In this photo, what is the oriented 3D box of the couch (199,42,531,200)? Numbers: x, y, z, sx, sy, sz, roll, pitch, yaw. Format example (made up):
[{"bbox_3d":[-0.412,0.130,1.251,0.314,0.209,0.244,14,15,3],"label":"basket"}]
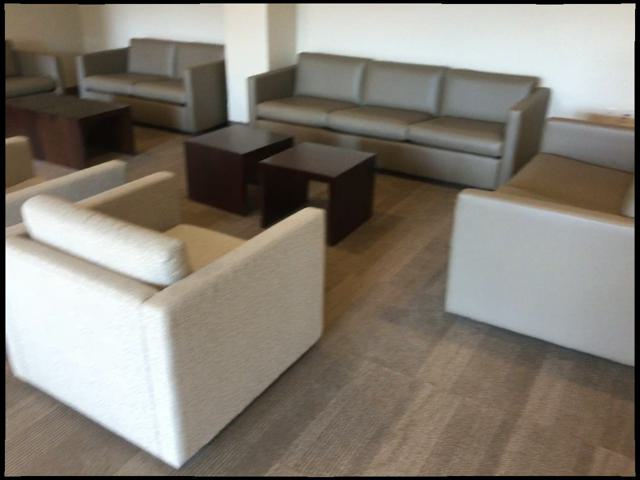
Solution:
[{"bbox_3d":[0.309,-1.042,4.610,2.386,0.741,0.930,14,28,23],"label":"couch"}]

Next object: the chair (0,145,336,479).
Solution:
[{"bbox_3d":[-0.589,0.190,2.100,0.998,0.731,0.860,14,28,23],"label":"chair"}]

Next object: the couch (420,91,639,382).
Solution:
[{"bbox_3d":[1.237,-0.180,2.880,0.949,0.731,1.630,14,28,23],"label":"couch"}]
